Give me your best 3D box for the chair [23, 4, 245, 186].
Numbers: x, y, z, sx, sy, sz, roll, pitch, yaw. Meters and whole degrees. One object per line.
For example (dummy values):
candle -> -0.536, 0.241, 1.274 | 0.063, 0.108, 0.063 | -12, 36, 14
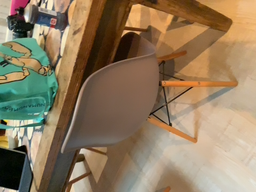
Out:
chair -> 0.020, -0.020, 1.010 | 0.520, 0.810, 0.440 | 49, 124, 42
